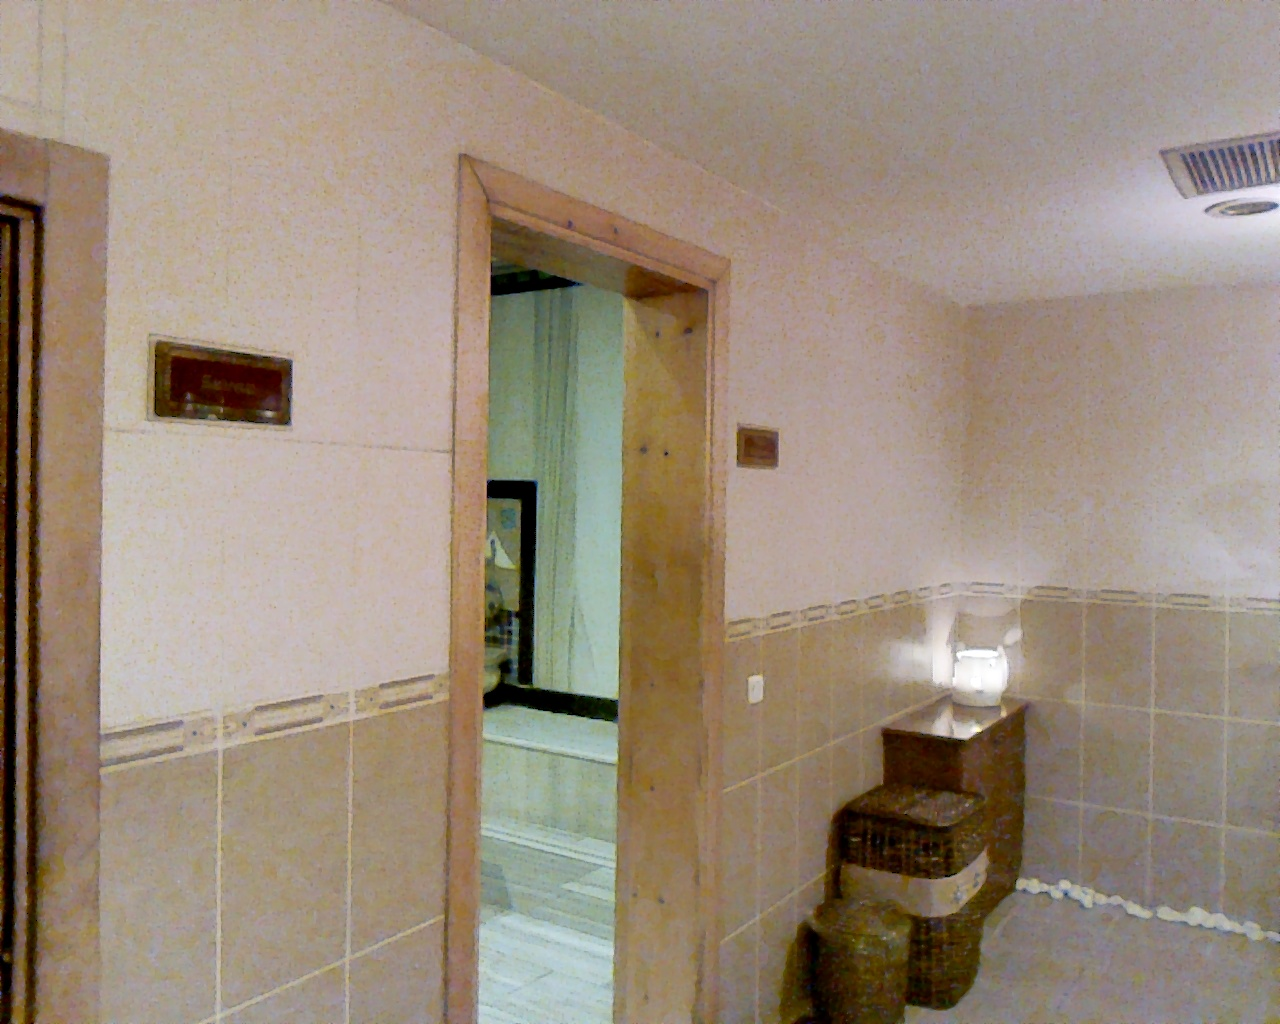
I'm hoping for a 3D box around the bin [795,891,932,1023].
[{"bbox_3d":[0.690,1.410,3.310,0.320,0.340,0.300,1,0,34],"label":"bin"}]
